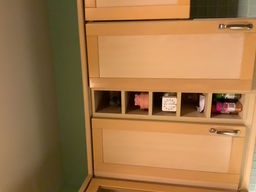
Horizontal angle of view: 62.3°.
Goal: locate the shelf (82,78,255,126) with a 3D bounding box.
[{"bbox_3d":[0.200,0.010,1.130,0.310,0.810,0.150,-56,-34,-73],"label":"shelf"}]
